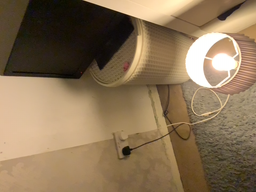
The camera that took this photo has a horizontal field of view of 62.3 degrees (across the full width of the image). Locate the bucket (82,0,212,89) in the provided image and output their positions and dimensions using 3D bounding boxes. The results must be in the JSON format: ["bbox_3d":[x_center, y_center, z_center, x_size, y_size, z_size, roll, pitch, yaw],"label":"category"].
[{"bbox_3d":[0.120,-0.290,1.220,0.380,0.580,0.410,-22,76,44],"label":"bucket"}]
